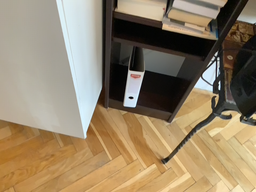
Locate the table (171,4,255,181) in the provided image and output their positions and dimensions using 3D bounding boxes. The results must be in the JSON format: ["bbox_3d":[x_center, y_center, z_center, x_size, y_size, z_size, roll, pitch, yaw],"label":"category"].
[{"bbox_3d":[0.630,0.040,1.060,0.630,0.610,0.550,13,57,1],"label":"table"}]
